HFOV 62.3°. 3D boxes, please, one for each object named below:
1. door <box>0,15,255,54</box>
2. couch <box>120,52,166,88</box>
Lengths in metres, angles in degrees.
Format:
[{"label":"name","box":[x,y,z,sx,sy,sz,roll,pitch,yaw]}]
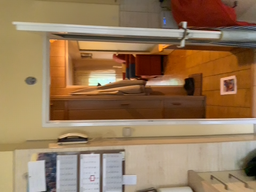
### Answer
[{"label":"door","box":[0.290,-0.410,1.550,0.920,1.990,0.120,-121,33,-73]},{"label":"couch","box":[0.310,-0.620,5.690,1.880,0.810,0.670,170,101,-81]}]
